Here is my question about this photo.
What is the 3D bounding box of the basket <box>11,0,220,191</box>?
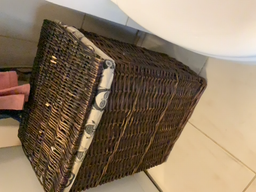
[{"bbox_3d":[-0.090,0.010,0.800,0.480,0.460,0.520,40,116,40],"label":"basket"}]
